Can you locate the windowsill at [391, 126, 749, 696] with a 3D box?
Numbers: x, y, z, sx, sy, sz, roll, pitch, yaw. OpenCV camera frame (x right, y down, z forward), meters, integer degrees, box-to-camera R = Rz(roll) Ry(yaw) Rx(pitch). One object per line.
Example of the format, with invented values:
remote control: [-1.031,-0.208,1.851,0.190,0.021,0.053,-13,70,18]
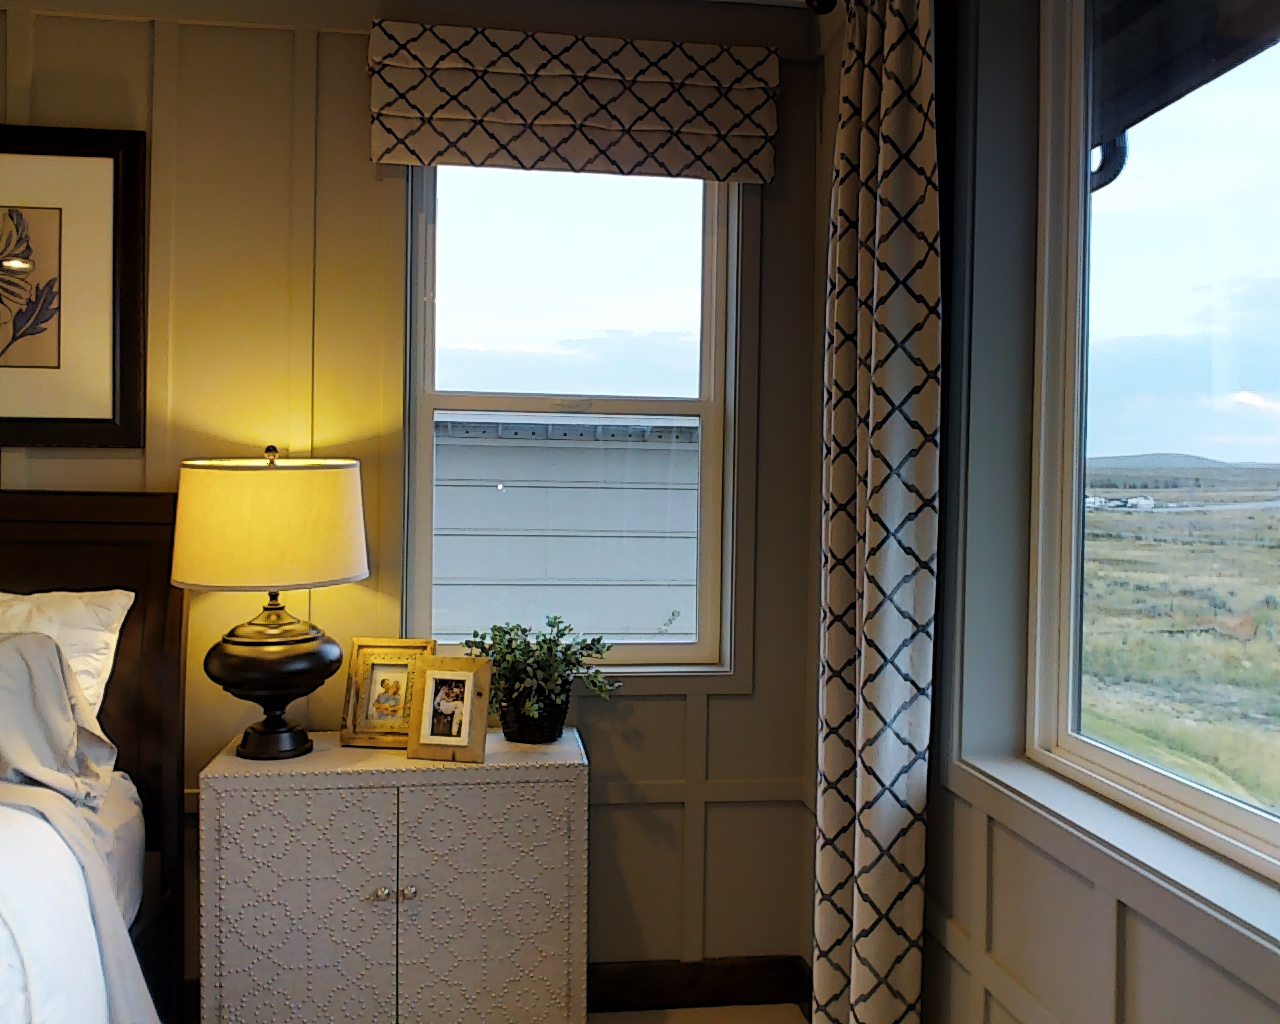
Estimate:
windowsill: [-0.190,-0.250,2.910,0.910,1.450,0.250,1,1,-8]

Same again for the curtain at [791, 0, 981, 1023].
curtain: [0.470,0.040,2.130,0.170,2.620,0.470,1,1,-9]

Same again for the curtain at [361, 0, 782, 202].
curtain: [-0.170,-1.070,2.810,1.080,0.420,0.110,1,1,-8]

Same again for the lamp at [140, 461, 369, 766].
lamp: [-0.880,0.220,2.500,0.440,0.660,0.320,1,1,-8]
